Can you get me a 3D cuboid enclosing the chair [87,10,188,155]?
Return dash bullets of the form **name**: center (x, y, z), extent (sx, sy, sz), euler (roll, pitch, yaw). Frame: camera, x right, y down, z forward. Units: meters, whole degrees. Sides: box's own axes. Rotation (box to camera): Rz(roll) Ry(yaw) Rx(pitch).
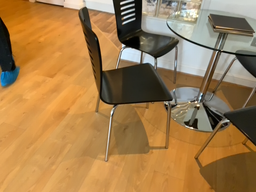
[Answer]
- **chair**: center (-0.010, -0.070, 1.380), extent (0.450, 0.810, 0.440), euler (-3, 40, -11)
